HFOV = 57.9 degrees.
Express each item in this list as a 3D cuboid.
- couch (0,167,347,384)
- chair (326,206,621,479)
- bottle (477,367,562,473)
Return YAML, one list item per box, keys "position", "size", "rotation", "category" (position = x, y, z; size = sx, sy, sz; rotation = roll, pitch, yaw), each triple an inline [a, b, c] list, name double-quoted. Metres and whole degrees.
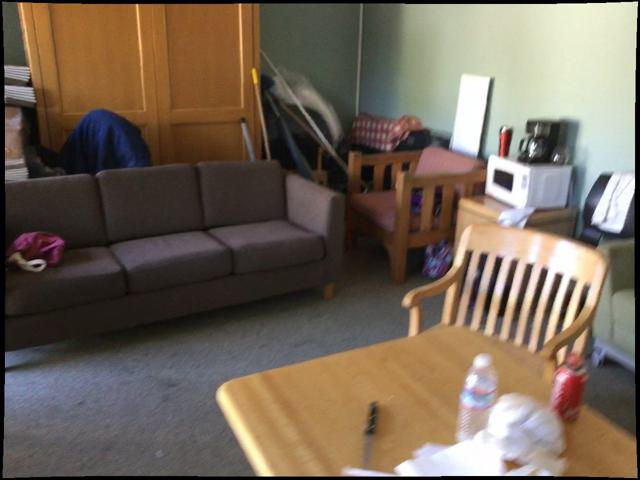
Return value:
- position: [-0.809, 0.100, 3.140]
  size: [1.839, 0.671, 0.600]
  rotation: [-11, 24, -25]
  category: "couch"
- position: [0.490, 0.400, 2.020]
  size: [0.670, 0.791, 0.660]
  rotation: [-17, 27, -36]
  category: "chair"
- position: [0.400, 0.360, 1.170]
  size: [0.080, 0.140, 0.130]
  rotation: [-11, 24, -25]
  category: "bottle"
